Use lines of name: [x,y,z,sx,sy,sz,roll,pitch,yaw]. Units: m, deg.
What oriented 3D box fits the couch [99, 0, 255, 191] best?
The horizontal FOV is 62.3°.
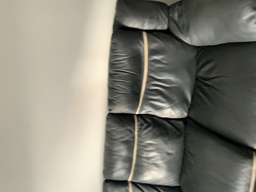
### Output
couch: [0.400,0.480,1.570,1.010,0.950,2.360,-154,64,-62]
